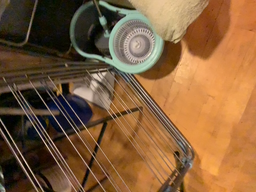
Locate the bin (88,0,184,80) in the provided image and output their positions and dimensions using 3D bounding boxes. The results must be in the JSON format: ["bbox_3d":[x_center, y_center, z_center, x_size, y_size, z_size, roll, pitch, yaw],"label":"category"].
[{"bbox_3d":[0.040,-0.250,0.970,0.320,0.210,0.260,23,102,19],"label":"bin"}]
